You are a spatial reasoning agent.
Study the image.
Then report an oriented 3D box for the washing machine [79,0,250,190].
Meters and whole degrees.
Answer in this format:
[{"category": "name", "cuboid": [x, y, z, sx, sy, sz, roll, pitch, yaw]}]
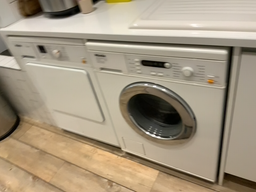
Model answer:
[{"category": "washing machine", "cuboid": [0.270, -0.050, 1.250, 0.610, 0.850, 0.620, 12, 45, 29]}]
